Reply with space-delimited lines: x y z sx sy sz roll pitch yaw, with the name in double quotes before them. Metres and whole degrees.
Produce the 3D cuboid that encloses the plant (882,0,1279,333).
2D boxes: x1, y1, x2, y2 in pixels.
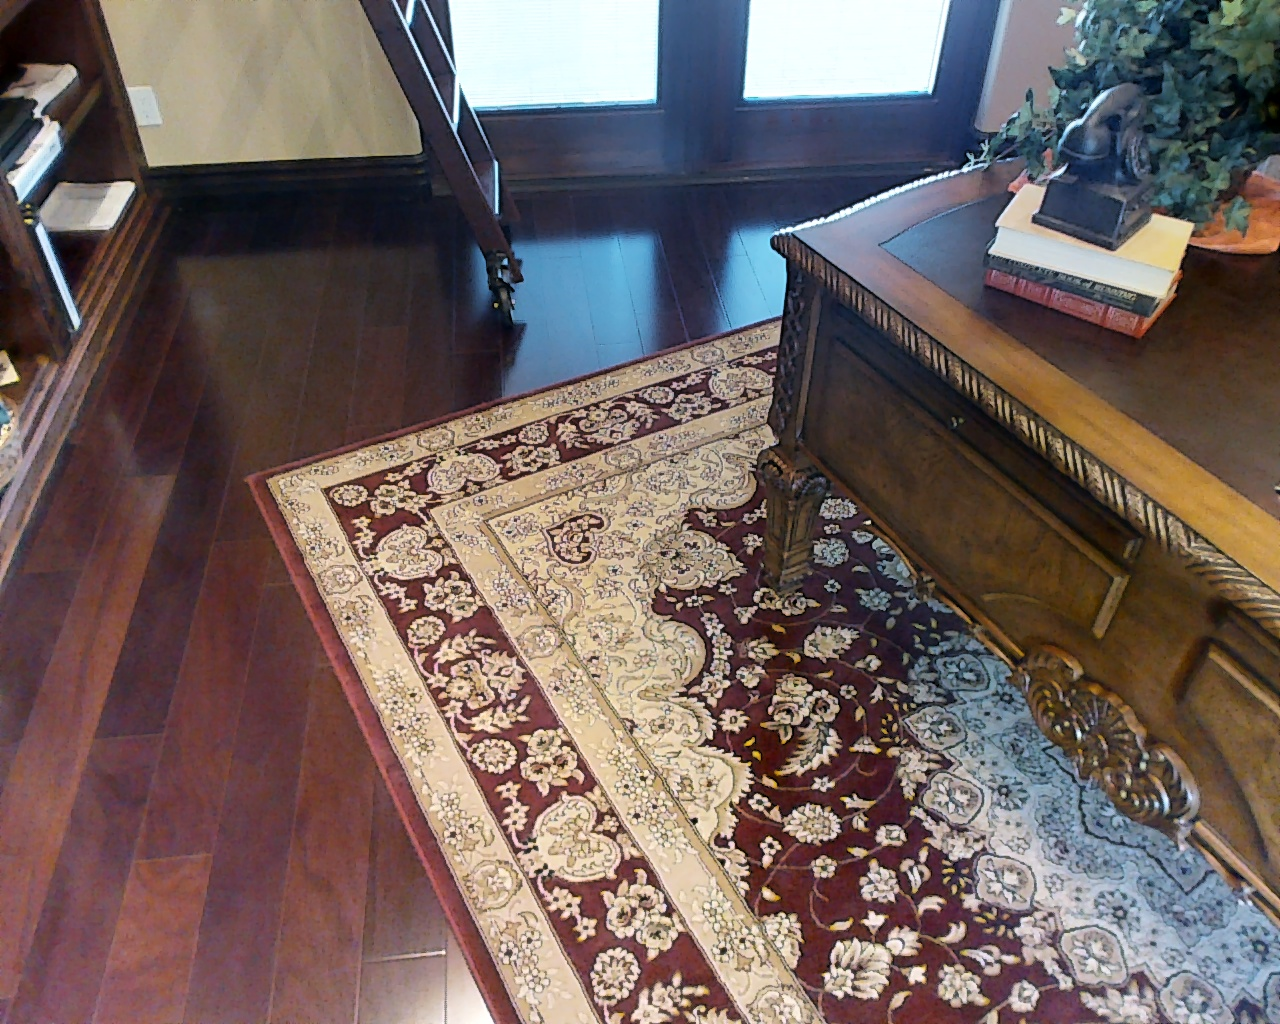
"plant" 0.900 -0.760 1.790 0.620 0.510 0.670 -20 46 -20
